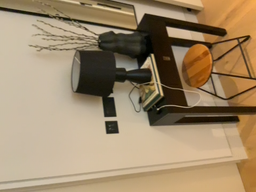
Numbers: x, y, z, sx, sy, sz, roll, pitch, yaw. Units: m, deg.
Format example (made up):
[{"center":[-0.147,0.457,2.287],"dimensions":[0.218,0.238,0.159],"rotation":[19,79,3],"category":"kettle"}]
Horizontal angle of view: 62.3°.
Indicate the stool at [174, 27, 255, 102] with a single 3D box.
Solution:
[{"center":[0.710,-0.220,1.710],"dimensions":[0.380,0.460,0.440],"rotation":[138,129,-59],"category":"stool"}]
